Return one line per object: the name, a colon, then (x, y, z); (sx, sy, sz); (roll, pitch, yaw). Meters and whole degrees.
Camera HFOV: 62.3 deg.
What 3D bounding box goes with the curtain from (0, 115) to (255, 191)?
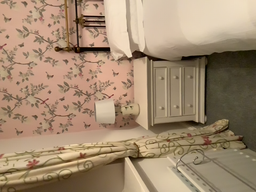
curtain: (-0.160, 0.340, 1.400); (0.590, 2.030, 0.100); (-149, 56, -72)
